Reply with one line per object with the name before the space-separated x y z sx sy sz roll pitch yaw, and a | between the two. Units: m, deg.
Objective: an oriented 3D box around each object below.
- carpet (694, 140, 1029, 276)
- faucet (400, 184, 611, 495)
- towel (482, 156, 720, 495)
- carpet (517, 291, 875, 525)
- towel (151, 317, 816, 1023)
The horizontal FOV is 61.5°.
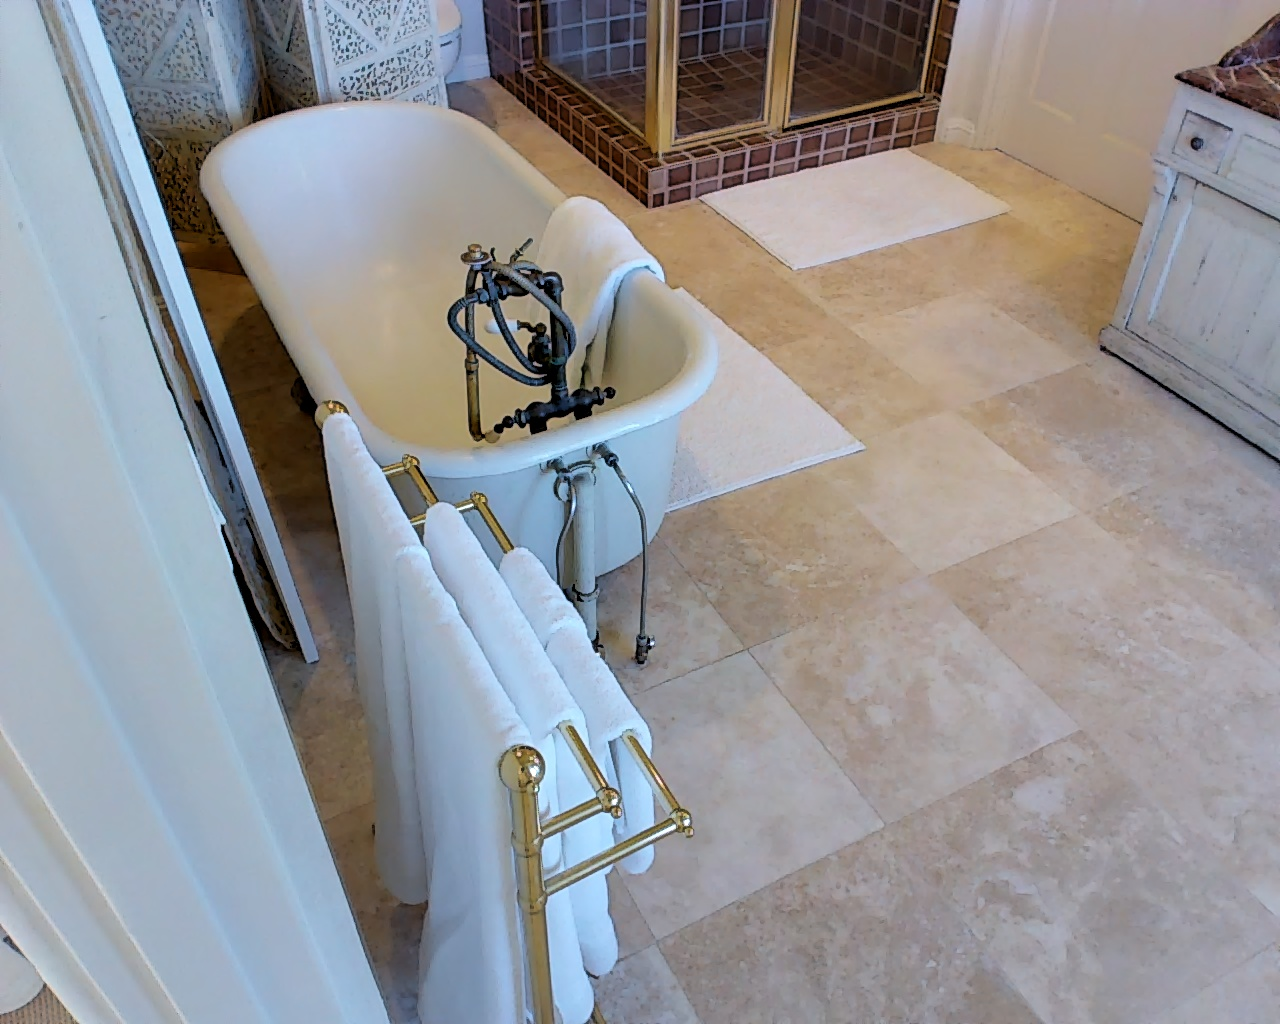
carpet | 0.760 -1.080 3.740 0.950 0.030 0.640 -18 44 -19
faucet | -0.210 -0.280 1.780 0.270 0.430 0.170 -18 44 -19
towel | -0.090 -0.430 2.470 0.350 0.570 0.420 -20 45 -21
carpet | 0.120 -0.320 2.880 0.610 0.020 0.850 -19 45 -21
towel | -0.200 0.360 1.420 0.460 0.940 0.650 -21 45 -22
